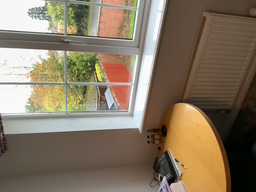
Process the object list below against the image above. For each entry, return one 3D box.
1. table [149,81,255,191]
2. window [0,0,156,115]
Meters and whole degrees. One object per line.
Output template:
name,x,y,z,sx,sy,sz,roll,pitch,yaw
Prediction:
table,0.690,0.430,1.510,0.800,0.710,0.800,-118,32,-57
window,-0.370,-0.320,1.530,0.110,0.990,1.040,-113,28,-53
